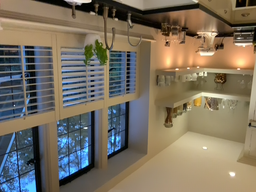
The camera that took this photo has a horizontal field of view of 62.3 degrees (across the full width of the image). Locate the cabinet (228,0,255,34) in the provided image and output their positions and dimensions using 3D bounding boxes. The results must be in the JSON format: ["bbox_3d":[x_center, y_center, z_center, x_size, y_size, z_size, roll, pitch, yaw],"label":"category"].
[{"bbox_3d":[1.670,-1.370,2.890,0.340,0.920,0.760,9,-167,34],"label":"cabinet"}]
